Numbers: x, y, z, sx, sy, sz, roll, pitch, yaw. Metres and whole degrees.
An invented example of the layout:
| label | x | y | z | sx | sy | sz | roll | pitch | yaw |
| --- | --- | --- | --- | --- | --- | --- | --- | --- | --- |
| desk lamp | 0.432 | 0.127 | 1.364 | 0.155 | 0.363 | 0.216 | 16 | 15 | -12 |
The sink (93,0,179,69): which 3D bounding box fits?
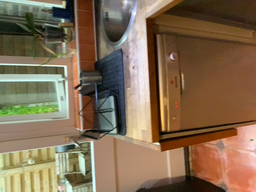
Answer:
| label | x | y | z | sx | sy | sz | roll | pitch | yaw |
| --- | --- | --- | --- | --- | --- | --- | --- | --- | --- |
| sink | 0.010 | -0.500 | 1.180 | 0.500 | 0.190 | 0.480 | 64 | 144 | 38 |
